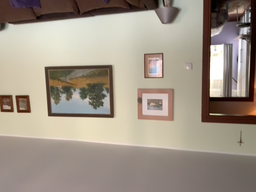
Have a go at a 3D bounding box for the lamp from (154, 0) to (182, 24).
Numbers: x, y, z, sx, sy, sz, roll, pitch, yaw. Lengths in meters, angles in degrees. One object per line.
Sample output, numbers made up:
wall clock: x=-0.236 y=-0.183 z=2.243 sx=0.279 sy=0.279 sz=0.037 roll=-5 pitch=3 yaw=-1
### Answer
lamp: x=0.450 y=-1.010 z=2.350 sx=0.280 sy=0.340 sz=0.200 roll=1 pitch=-172 yaw=17
